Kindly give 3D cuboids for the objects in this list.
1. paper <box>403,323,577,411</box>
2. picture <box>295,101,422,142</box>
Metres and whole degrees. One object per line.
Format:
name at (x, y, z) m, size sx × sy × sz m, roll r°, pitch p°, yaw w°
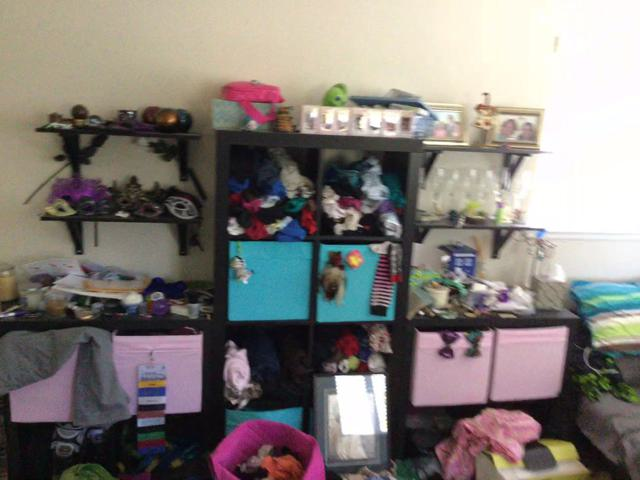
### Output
paper at (0.690, 0.520, 2.350) m, size 0.690 × 0.350 × 0.030 m, roll 2°, pitch 9°, yaw -7°
picture at (0.140, -0.440, 2.160) m, size 0.460 × 0.120 × 0.080 m, roll 2°, pitch 9°, yaw -7°
